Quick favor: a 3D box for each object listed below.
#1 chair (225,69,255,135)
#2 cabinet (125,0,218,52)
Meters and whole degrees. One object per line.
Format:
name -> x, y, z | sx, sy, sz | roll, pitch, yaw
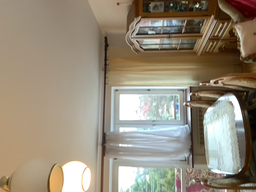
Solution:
chair -> 1.440, 0.070, 2.020 | 0.450, 0.800, 0.570 | 59, -148, -83
cabinet -> 0.570, -1.150, 3.360 | 1.480, 1.130, 0.460 | 59, -148, -83
